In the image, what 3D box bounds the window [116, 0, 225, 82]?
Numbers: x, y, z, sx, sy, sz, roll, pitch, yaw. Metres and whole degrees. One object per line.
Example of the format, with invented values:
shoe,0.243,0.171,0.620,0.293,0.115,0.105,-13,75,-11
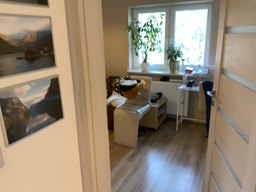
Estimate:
window,0.640,-0.960,3.720,1.800,1.290,0.120,7,18,23
